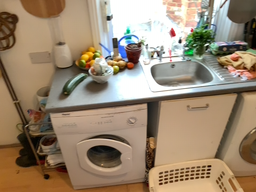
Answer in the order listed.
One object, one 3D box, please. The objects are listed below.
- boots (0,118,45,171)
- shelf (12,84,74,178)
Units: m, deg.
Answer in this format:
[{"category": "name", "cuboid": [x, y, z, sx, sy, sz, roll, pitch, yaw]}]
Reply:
[{"category": "boots", "cuboid": [-0.910, 0.430, 1.880, 0.210, 0.400, 0.230, -7, 38, -7]}, {"category": "shelf", "cuboid": [-0.670, 0.300, 1.810, 0.280, 0.660, 0.420, -7, 38, -6]}]
